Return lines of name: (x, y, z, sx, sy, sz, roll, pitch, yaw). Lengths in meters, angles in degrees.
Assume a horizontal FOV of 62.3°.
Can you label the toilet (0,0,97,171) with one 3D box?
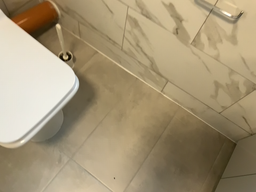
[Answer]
toilet: (-0.500, -0.150, 0.750, 0.660, 0.820, 0.410, 36, 67, 8)
